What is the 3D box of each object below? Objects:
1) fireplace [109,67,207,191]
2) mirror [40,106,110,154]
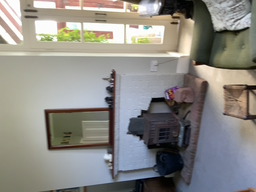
[{"bbox_3d":[0.310,0.490,2.870,0.570,1.050,1.670,-128,38,-67],"label":"fireplace"},{"bbox_3d":[-0.690,0.450,2.860,0.150,0.860,0.580,-124,34,-65],"label":"mirror"}]
